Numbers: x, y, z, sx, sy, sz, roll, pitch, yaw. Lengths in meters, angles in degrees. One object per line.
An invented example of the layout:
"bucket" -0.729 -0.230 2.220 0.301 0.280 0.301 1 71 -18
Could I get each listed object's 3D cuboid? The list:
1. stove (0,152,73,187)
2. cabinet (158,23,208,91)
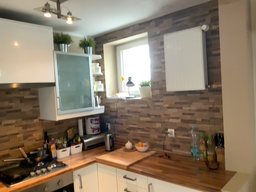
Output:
"stove" -0.990 0.700 2.130 0.600 0.030 0.620 -1 3 42
"cabinet" 0.560 -0.370 2.180 0.450 0.610 0.160 -1 3 42
